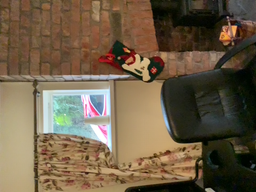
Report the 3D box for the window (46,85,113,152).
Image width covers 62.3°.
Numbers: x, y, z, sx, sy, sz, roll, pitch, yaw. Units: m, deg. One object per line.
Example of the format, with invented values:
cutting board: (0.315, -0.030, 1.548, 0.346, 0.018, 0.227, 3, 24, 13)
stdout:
window: (-0.550, 0.240, 2.450, 0.070, 0.710, 0.720, 169, 99, -78)
